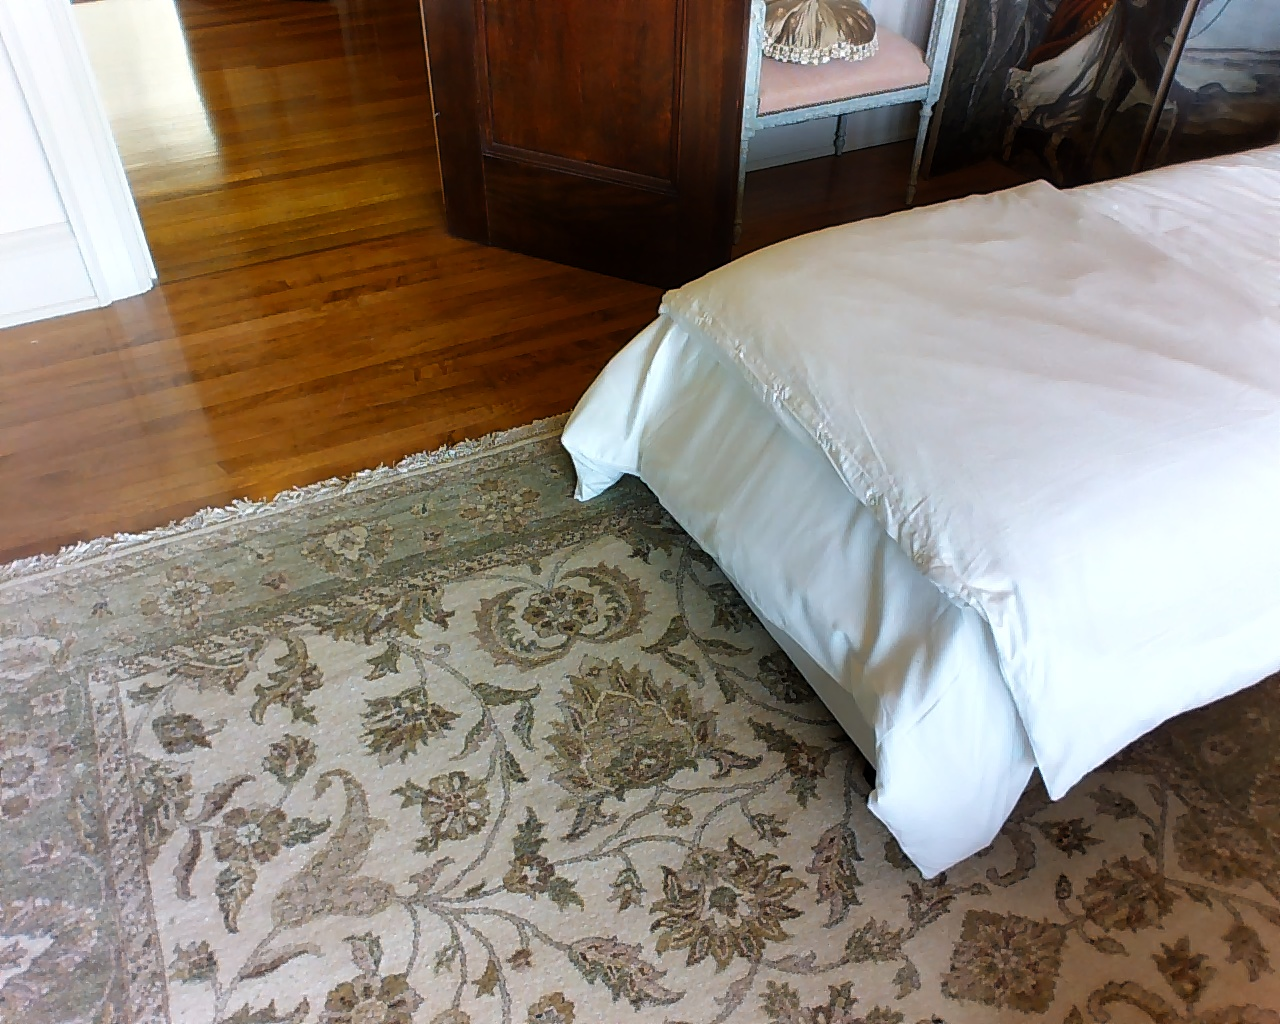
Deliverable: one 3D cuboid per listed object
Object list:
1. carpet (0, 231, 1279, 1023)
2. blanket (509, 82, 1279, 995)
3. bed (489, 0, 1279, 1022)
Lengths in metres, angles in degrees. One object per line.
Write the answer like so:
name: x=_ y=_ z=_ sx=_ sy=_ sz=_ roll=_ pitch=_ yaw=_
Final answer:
carpet: x=0.790 y=0.690 z=1.610 sx=3.500 sy=0.030 sz=3.440 roll=-17 pitch=45 yaw=-19
blanket: x=0.590 y=-0.150 z=2.060 sx=1.180 sy=0.640 sz=1.500 roll=-17 pitch=46 yaw=-19
bed: x=1.120 y=-0.580 z=1.980 sx=2.360 sy=1.410 sz=1.530 roll=-17 pitch=46 yaw=-19
